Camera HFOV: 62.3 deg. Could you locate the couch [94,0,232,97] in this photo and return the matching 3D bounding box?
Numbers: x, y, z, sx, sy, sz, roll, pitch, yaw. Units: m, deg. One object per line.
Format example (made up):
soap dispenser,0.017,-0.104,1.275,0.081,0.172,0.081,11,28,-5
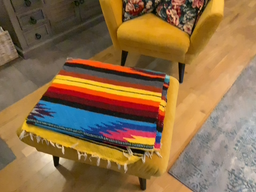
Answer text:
couch,0.330,-0.800,1.770,0.860,1.070,0.970,15,49,13
